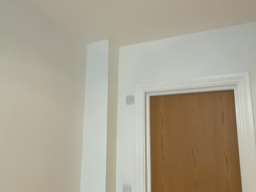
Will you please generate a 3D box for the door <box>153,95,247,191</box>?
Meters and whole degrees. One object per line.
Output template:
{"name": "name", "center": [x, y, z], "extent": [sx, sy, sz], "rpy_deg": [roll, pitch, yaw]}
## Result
{"name": "door", "center": [0.550, 0.910, 1.680], "extent": [0.710, 1.810, 0.040], "rpy_deg": [-4, -11, 27]}
